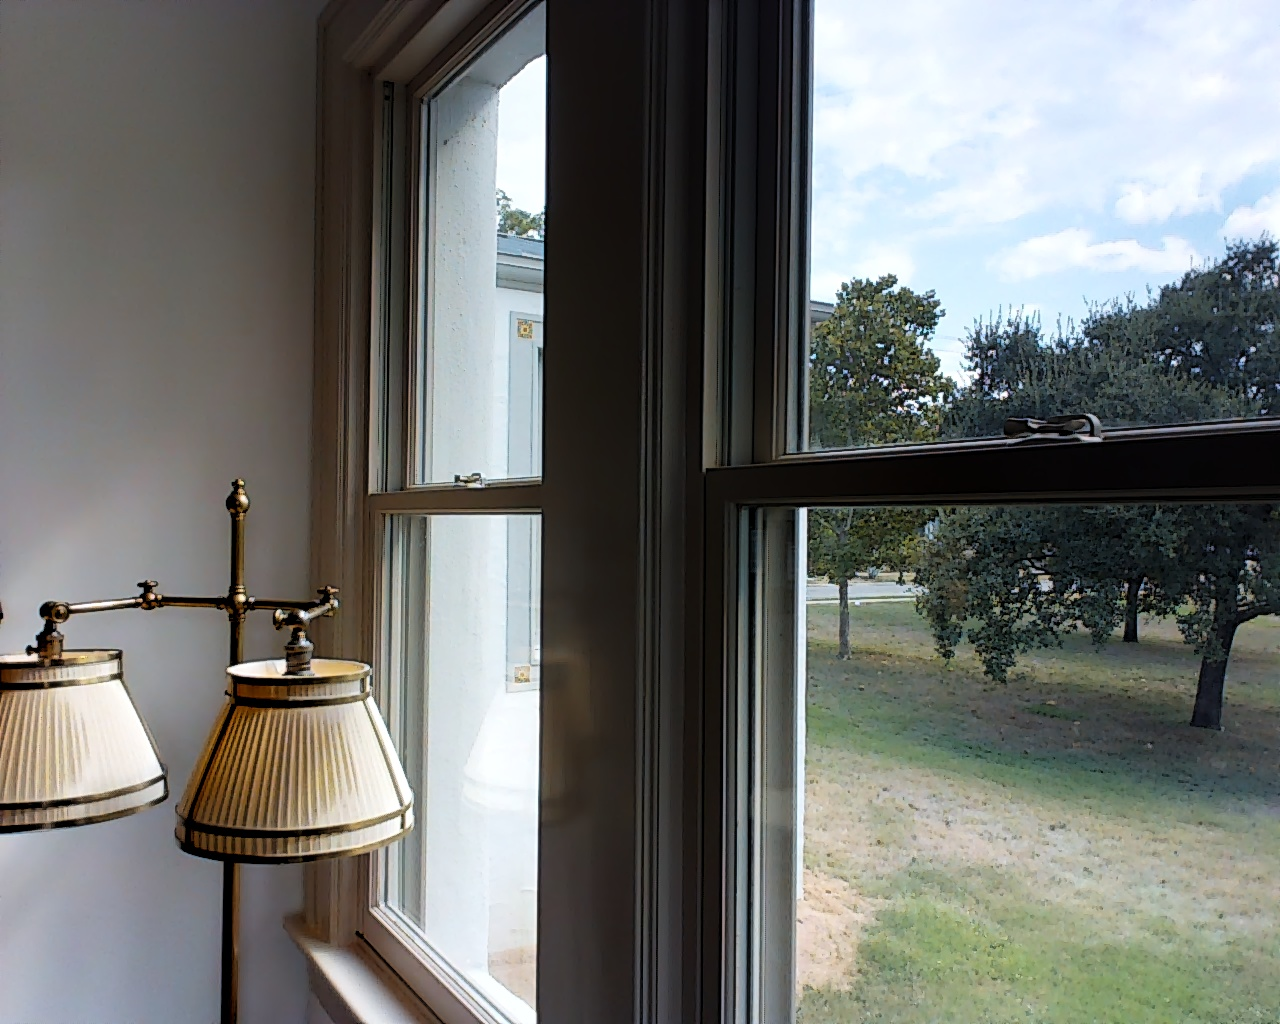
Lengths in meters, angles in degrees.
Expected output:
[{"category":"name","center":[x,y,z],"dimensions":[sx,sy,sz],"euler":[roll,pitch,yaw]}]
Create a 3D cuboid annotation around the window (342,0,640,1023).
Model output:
[{"category":"window","center":[-0.260,-0.010,1.580],"dimensions":[0.120,1.490,0.780],"euler":[1,-1,-32]}]
